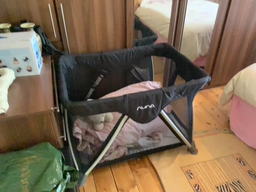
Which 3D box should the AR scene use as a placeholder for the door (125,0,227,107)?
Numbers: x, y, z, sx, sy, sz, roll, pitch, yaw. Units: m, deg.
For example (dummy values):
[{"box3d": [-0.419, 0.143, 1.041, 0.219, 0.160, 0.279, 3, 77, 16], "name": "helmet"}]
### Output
[{"box3d": [0.460, -0.900, 1.900, 1.000, 2.280, 0.070, -10, 37, -14], "name": "door"}]
